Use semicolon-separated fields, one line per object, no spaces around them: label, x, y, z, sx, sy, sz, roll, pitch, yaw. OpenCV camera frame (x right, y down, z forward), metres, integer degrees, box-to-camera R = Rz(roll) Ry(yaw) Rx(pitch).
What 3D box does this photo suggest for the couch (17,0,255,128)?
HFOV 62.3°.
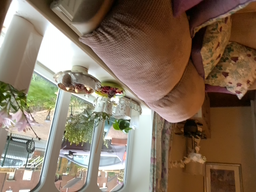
couch;0.470;-0.480;1.370;0.970;1.060;1.670;-4;160;25
